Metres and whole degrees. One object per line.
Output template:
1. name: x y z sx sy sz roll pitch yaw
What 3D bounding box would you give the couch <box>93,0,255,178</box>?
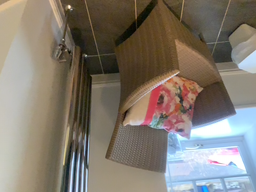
1. couch: 0.230 -0.040 1.340 0.620 0.860 0.620 27 134 -37
